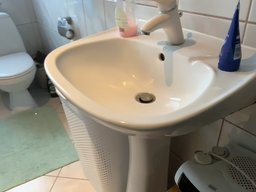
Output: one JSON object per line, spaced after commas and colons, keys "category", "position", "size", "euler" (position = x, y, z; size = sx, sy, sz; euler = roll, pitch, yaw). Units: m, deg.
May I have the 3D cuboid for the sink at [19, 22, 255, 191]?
{"category": "sink", "position": [0.010, -0.040, 0.630], "size": [0.430, 0.190, 0.570], "euler": [-24, 38, -31]}

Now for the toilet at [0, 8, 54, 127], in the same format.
{"category": "toilet", "position": [-0.980, -0.270, 1.740], "size": [0.370, 0.740, 0.640], "euler": [-23, 37, -30]}
